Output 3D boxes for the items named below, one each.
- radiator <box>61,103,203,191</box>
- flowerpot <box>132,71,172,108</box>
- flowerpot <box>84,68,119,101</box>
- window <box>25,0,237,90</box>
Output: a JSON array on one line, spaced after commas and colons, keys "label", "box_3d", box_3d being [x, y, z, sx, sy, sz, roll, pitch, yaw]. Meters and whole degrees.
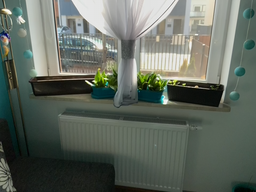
[{"label": "radiator", "box_3d": [0.020, 0.470, 1.750, 1.020, 0.720, 0.240, 3, 20, 6]}, {"label": "flowerpot", "box_3d": [0.180, -0.060, 1.610, 0.270, 0.210, 0.230, 3, 20, 5]}, {"label": "flowerpot", "box_3d": [-0.200, -0.100, 1.700, 0.220, 0.200, 0.250, 3, 20, 5]}, {"label": "window", "box_3d": [0.000, -0.860, 1.530, 1.480, 1.550, 0.250, 3, 20, 6]}]
